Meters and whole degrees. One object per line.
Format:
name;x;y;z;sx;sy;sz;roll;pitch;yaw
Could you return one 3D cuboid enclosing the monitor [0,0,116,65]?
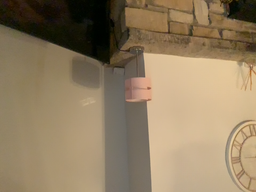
monitor;-0.370;-0.520;1.010;0.070;0.540;0.950;-6;171;32
